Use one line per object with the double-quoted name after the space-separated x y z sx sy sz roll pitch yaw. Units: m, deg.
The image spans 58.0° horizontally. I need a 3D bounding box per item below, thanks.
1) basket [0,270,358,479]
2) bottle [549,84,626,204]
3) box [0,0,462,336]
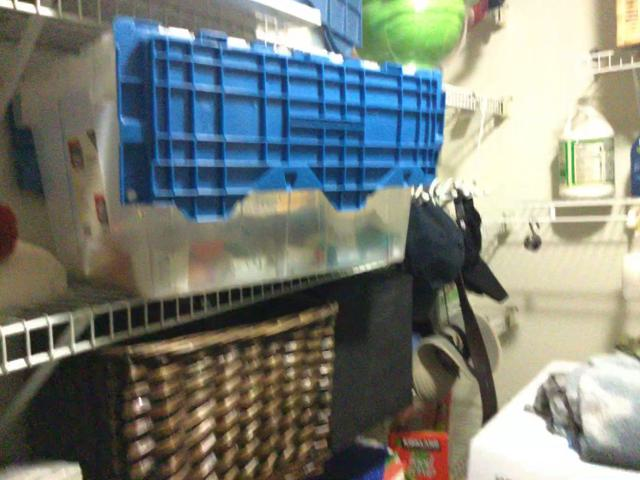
-0.230 0.250 0.890 0.390 0.330 0.430 1 6 38 "basket"
0.780 -0.270 1.680 0.170 0.320 0.160 1 6 38 "bottle"
-0.110 -0.100 0.890 0.440 0.320 0.560 1 6 38 "box"
